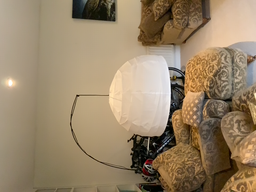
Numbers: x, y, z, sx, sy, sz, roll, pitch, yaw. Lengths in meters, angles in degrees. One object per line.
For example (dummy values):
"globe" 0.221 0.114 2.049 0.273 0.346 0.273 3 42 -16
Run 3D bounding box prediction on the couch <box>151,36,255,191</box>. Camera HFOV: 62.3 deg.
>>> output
"couch" 0.780 0.270 2.380 0.860 0.830 1.630 -166 76 -81

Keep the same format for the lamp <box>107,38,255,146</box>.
"lamp" 0.560 -0.010 1.910 0.700 1.450 0.740 156 114 -80
